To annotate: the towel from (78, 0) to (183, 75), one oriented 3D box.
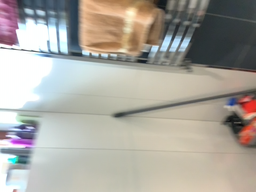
[{"bbox_3d":[-0.020,-0.320,0.980,0.190,0.390,0.370,-97,15,-44],"label":"towel"}]
